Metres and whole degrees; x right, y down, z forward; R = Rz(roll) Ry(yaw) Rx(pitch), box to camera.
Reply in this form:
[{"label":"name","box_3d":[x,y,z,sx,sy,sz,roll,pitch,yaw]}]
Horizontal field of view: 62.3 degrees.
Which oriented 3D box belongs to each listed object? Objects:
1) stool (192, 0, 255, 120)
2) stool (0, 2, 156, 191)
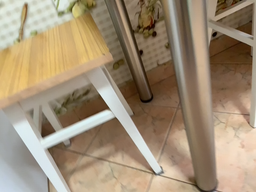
[{"label":"stool","box_3d":[0.440,-0.230,0.700,0.300,0.450,0.310,-25,40,-4]},{"label":"stool","box_3d":[-0.150,0.030,0.660,0.290,0.470,0.290,-25,40,-4]}]
